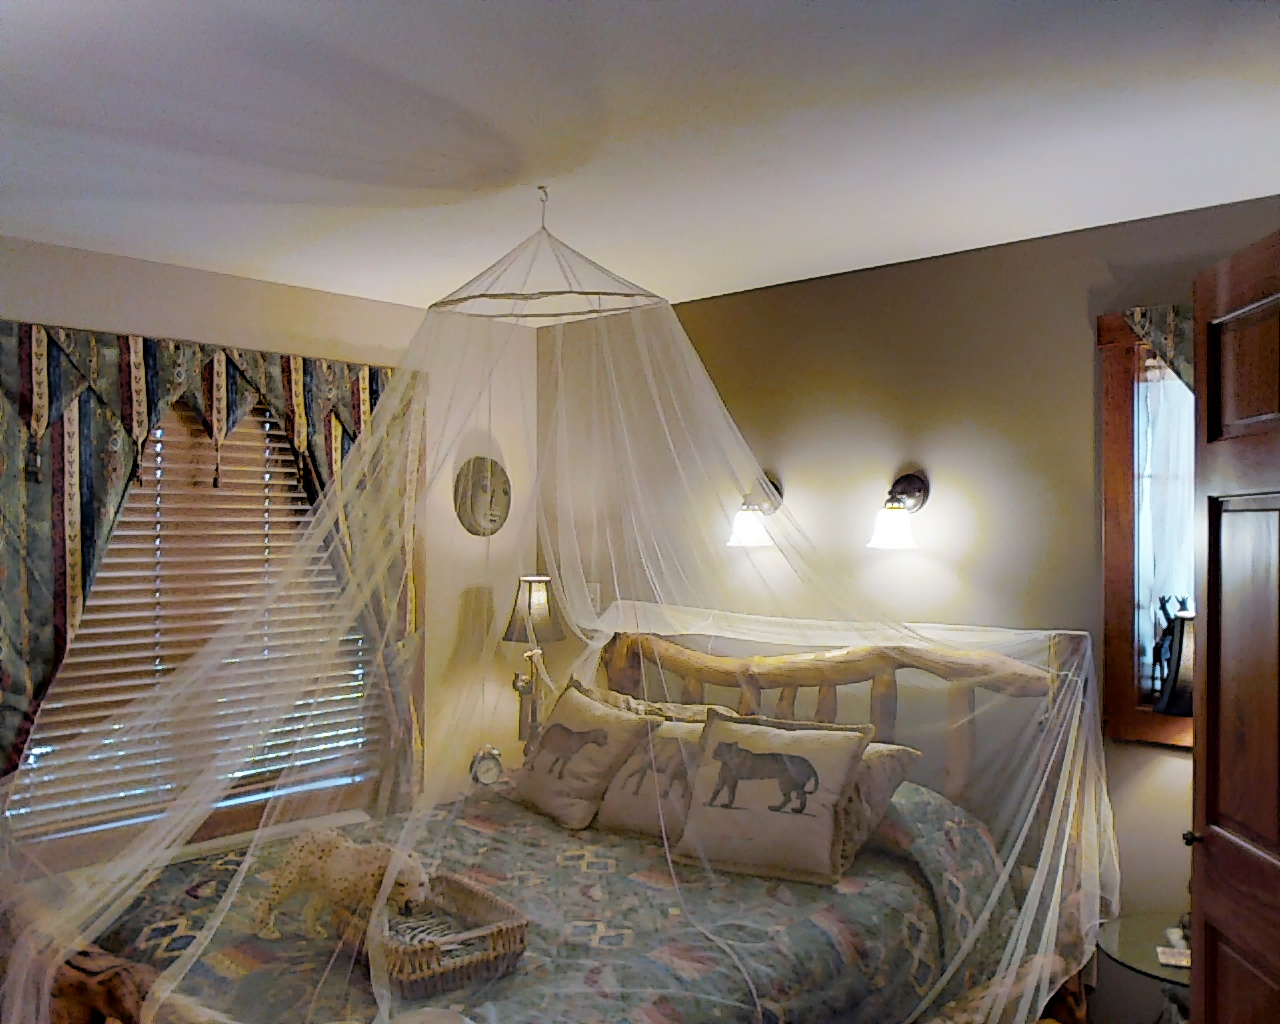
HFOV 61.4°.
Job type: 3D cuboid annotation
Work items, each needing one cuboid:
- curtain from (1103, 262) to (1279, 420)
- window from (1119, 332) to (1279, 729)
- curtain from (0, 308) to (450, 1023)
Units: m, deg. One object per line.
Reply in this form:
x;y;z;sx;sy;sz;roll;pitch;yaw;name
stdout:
1.560;-0.450;2.860;0.600;0.360;0.120;-1;-2;43;curtain
1.580;0.050;2.890;0.490;1.000;0.210;-1;-2;42;window
-1.380;0.510;3.560;0.200;2.120;1.670;-1;-2;43;curtain
